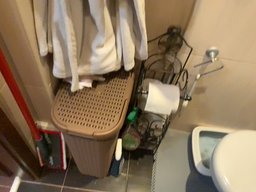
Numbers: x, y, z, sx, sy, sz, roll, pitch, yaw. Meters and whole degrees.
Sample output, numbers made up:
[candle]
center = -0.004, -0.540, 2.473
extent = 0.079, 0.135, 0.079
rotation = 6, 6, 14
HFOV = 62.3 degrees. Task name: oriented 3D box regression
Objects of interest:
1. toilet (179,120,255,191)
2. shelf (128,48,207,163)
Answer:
[toilet]
center = 0.560, 0.420, 1.010
extent = 0.500, 0.440, 0.370
rotation = 8, 53, -1
[shelf]
center = 0.150, 0.090, 1.060
extent = 0.220, 0.590, 0.260
rotation = 8, 53, -2
